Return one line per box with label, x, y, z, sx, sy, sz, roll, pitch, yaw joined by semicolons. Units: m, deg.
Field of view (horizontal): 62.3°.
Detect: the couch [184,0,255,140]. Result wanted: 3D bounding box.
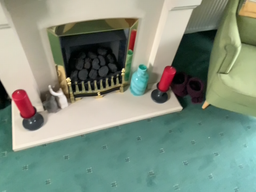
couch;0.960;-0.380;1.390;0.790;0.990;0.960;16;53;4
